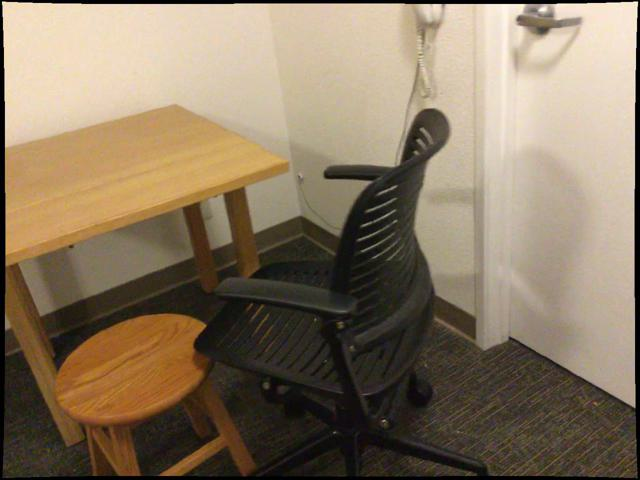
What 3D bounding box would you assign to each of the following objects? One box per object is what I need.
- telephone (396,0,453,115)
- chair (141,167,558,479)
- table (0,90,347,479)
[{"bbox_3d":[0.280,-0.571,1.550,0.090,0.440,0.110,-24,33,-26],"label":"telephone"},{"bbox_3d":[0.060,0.300,1.350,0.590,0.640,0.660,-24,33,-26],"label":"chair"},{"bbox_3d":[-0.569,0.070,1.850,0.810,0.751,0.980,-24,33,-26],"label":"table"}]
